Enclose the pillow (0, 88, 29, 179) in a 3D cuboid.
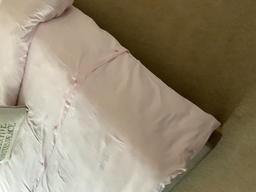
[{"bbox_3d":[-0.840,0.280,1.380,0.160,0.200,0.660,38,119,24],"label":"pillow"}]
